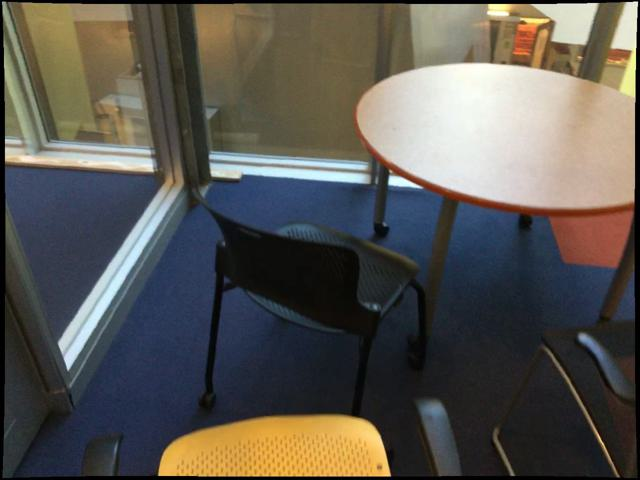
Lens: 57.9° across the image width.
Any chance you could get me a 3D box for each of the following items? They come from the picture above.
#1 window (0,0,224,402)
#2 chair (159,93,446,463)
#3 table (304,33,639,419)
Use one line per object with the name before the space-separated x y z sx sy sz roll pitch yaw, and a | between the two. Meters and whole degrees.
window | -0.699 -0.340 2.090 0.190 0.941 1.511 7 39 7
chair | -0.020 0.090 1.640 0.480 0.740 0.580 19 42 21
table | 0.669 -0.170 2.130 1.099 0.670 1.120 15 40 16
